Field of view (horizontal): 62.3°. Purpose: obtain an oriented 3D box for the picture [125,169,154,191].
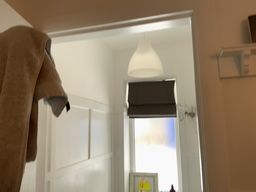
[{"bbox_3d":[0.130,1.000,2.380,0.320,0.300,0.060,2,6,13],"label":"picture"}]
